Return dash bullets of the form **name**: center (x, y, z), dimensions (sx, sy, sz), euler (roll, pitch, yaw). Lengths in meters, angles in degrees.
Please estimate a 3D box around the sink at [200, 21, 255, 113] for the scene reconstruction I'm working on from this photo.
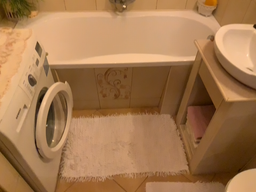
- **sink**: center (0.610, -0.170, 1.040), dimensions (0.330, 0.160, 0.500), euler (-2, 48, -4)
